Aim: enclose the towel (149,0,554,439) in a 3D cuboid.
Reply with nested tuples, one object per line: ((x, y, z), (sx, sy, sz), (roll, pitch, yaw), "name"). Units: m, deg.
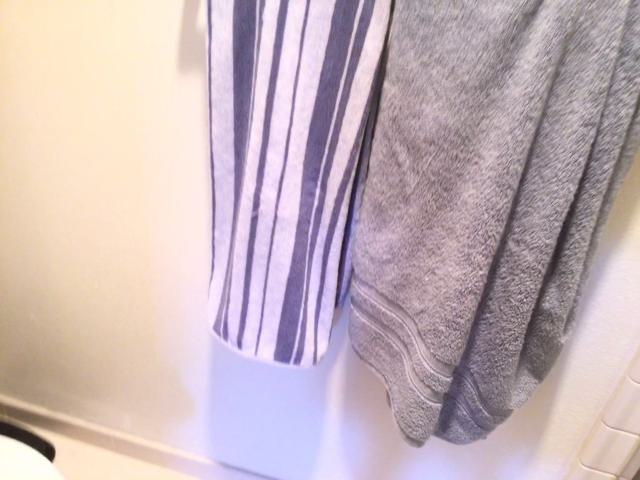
((0.000, -0.070, 0.800), (0.420, 0.700, 0.150), (15, 34, 9), "towel")

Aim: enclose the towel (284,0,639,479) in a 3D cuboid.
((0.200, 0.030, 0.780), (0.380, 0.800, 0.190), (15, 34, 9), "towel")
